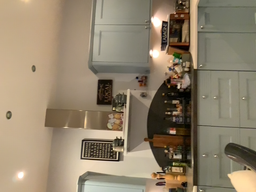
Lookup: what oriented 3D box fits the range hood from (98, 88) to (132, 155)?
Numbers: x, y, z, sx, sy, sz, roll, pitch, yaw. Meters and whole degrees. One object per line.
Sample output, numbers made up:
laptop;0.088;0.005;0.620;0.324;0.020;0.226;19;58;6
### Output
range hood;-0.150;0.320;2.700;0.380;0.320;0.780;60;-147;-79
